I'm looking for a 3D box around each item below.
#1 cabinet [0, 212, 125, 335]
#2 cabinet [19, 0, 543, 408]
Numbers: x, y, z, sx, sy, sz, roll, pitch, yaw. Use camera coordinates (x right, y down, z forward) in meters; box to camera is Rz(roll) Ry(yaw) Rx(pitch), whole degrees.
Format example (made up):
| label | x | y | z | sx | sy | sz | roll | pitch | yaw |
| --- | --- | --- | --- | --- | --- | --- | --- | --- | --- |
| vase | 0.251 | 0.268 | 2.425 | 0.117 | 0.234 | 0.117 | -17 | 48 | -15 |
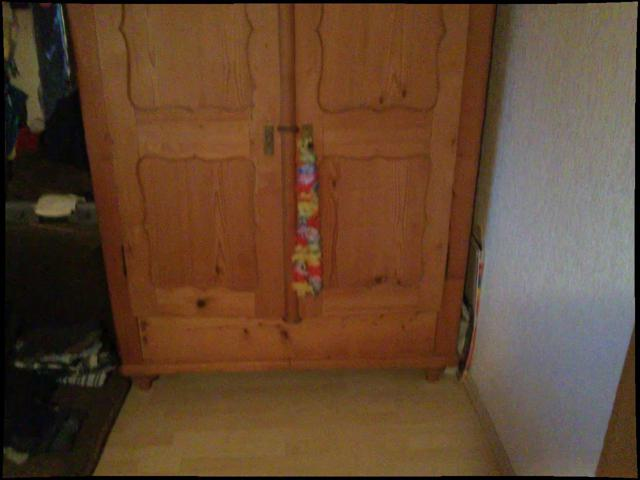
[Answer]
| label | x | y | z | sx | sy | sz | roll | pitch | yaw |
| --- | --- | --- | --- | --- | --- | --- | --- | --- | --- |
| cabinet | -1.259 | 0.130 | 2.180 | 0.929 | 0.420 | 0.190 | -1 | 26 | -4 |
| cabinet | -0.120 | -0.420 | 2.110 | 1.439 | 1.972 | 0.720 | -1 | 26 | -4 |
